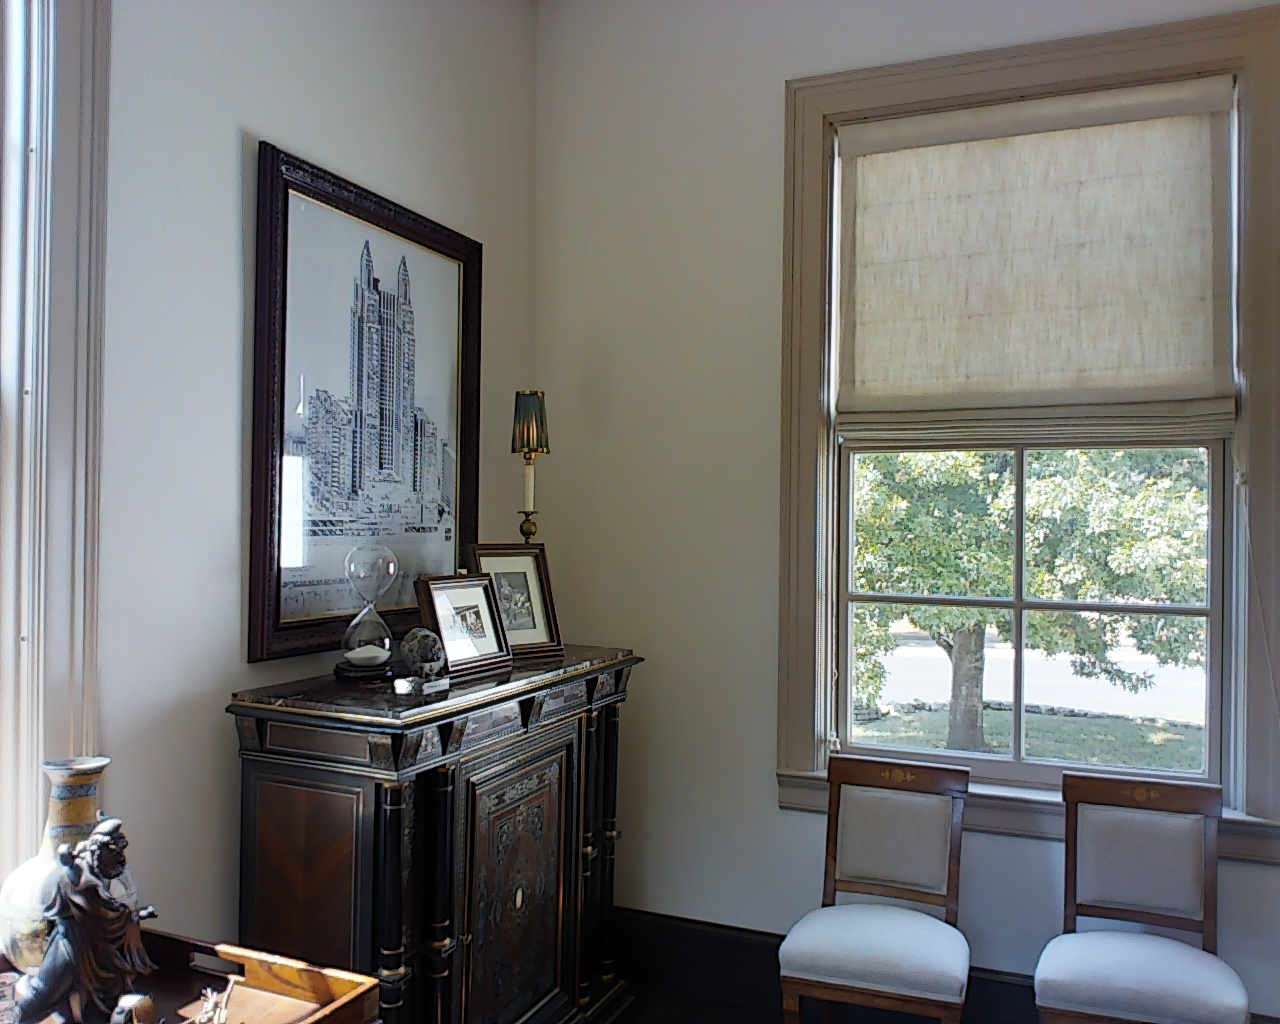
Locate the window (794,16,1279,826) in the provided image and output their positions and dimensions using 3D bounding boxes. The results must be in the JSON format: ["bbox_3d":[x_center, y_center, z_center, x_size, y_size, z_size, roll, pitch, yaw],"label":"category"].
[{"bbox_3d":[1.100,-0.240,3.060,1.300,2.080,0.130,0,0,23],"label":"window"}]
